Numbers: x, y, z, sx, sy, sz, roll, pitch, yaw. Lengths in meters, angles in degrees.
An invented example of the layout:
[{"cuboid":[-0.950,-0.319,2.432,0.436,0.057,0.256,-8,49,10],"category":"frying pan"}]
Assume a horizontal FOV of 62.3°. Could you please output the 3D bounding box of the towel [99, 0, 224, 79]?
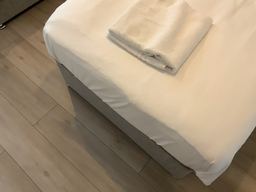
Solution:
[{"cuboid":[0.130,-0.290,0.840,0.350,0.080,0.330,35,66,17],"category":"towel"}]
